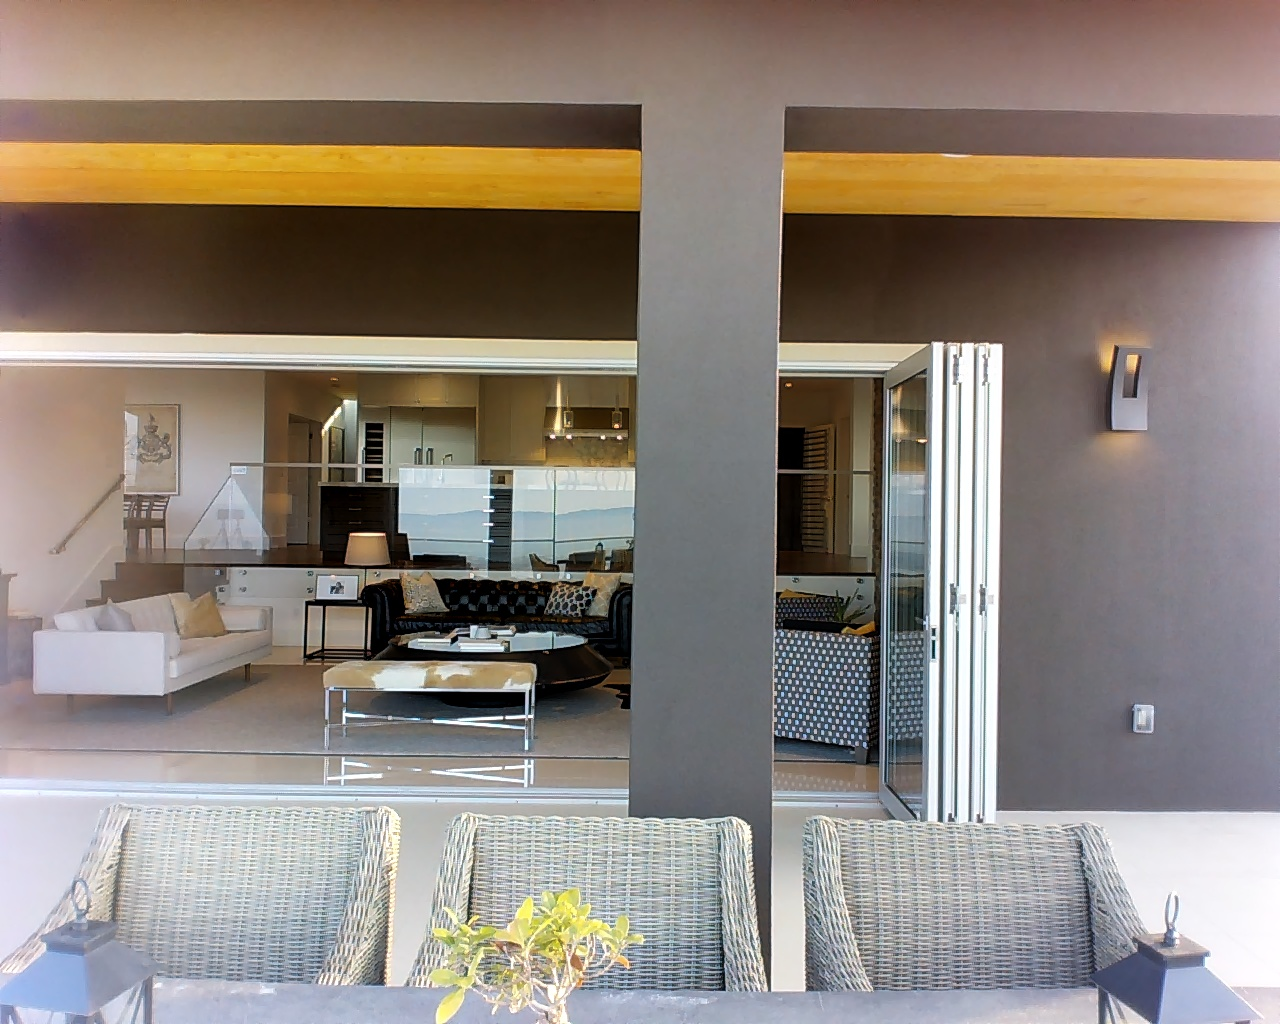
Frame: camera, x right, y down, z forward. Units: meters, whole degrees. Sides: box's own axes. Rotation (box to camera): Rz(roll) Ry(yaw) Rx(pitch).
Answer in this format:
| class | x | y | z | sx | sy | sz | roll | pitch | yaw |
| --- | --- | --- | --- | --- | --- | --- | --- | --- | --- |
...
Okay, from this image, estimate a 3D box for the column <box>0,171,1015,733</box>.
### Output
| class | x | y | z | sx | sy | sz | roll | pitch | yaw |
| --- | --- | --- | --- | --- | --- | --- | --- | --- | --- |
| column | -2.780 | -0.390 | 8.450 | 10.110 | 3.380 | 3.750 | 1 | 0 | 0 |
